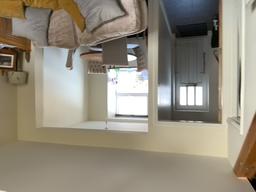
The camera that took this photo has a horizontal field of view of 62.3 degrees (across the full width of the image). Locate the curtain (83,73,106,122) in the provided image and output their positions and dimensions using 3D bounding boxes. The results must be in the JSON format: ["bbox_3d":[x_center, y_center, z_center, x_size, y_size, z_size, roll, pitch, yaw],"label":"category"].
[{"bbox_3d":[-0.960,0.040,6.110,0.670,1.360,0.100,1,-178,16],"label":"curtain"}]
